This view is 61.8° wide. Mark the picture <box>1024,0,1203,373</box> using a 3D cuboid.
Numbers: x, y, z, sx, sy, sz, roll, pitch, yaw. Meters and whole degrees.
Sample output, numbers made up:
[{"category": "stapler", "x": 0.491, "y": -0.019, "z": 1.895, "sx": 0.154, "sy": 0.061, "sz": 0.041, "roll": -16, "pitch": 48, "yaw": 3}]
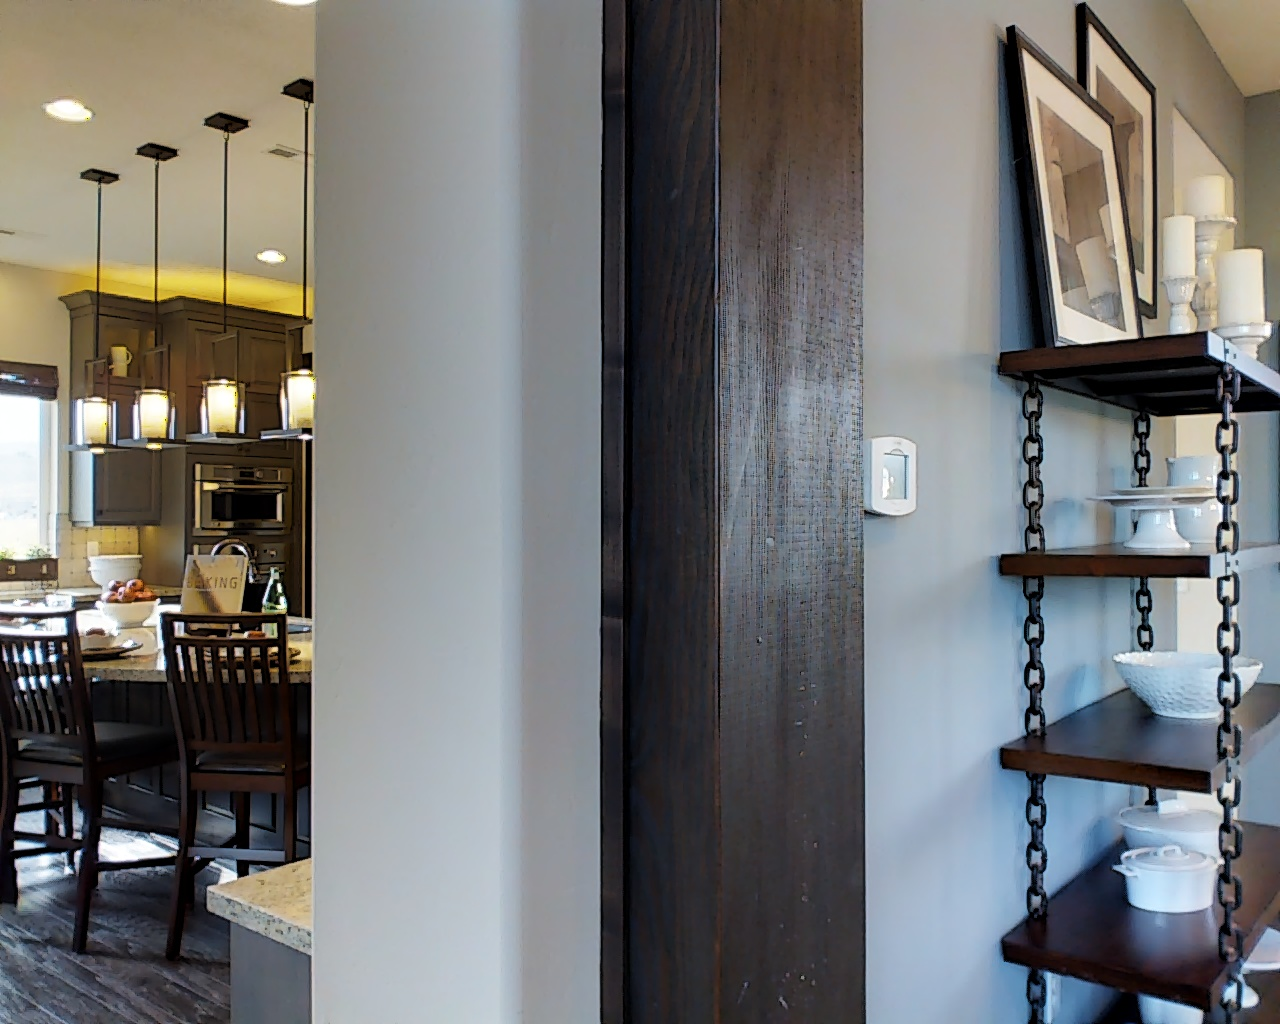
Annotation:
[{"category": "picture", "x": 1.190, "y": -0.890, "z": 2.620, "sx": 0.140, "sy": 0.970, "sz": 1.060, "roll": 0, "pitch": -1, "yaw": 38}]
